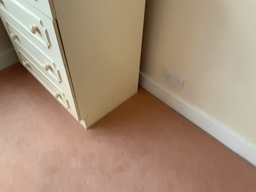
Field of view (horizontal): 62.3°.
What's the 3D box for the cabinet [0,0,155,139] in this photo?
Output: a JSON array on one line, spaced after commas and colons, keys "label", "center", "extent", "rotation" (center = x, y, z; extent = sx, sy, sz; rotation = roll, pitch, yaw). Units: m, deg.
[{"label": "cabinet", "center": [-0.370, -0.460, 1.360], "extent": [0.620, 1.090, 0.820], "rotation": [-35, 58, -30]}]
